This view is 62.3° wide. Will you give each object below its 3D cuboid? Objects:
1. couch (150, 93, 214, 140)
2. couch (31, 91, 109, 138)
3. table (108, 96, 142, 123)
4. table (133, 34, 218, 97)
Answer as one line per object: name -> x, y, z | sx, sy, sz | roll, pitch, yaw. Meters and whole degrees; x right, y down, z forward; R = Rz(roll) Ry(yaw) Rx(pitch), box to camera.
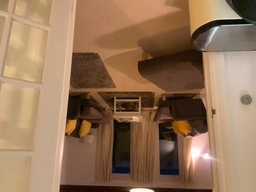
couch -> 1.150, 0.560, 5.040 | 1.130, 0.840, 1.640 | 1, 166, 3
couch -> -1.260, 0.550, 5.270 | 1.220, 0.850, 1.950 | 1, 166, 4
table -> -0.040, 0.350, 5.130 | 0.670, 0.480, 1.020 | 0, 166, 7
table -> 0.660, -0.300, 2.710 | 0.750, 0.330, 1.100 | -6, 164, 30
